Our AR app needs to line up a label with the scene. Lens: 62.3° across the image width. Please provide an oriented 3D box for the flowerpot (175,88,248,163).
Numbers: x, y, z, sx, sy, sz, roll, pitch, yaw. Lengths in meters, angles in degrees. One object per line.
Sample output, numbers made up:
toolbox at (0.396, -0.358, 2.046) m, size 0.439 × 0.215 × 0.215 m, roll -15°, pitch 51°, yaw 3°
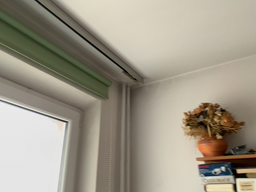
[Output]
flowerpot at (0.480, 0.190, 1.240) m, size 0.320 × 0.360 × 0.220 m, roll -12°, pitch -26°, yaw 27°
